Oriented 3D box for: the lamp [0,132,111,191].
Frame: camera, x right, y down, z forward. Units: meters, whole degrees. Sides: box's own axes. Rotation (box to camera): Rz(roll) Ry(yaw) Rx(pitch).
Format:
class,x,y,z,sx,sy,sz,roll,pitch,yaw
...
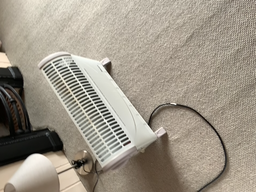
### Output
class,x,y,z,sx,sy,sz,roll,pitch,yaw
lamp,-0.340,0.380,1.050,0.230,0.450,0.220,-45,72,22
